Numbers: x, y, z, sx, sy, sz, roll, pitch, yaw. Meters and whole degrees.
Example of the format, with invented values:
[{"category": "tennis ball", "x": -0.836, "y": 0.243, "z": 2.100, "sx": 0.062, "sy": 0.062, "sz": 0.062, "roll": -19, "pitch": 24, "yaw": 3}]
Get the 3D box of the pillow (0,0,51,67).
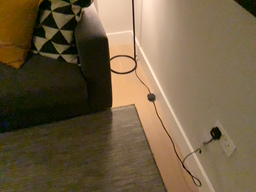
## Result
[{"category": "pillow", "x": -0.780, "y": -0.460, "z": 1.360, "sx": 0.550, "sy": 0.480, "sz": 0.210, "roll": 11, "pitch": 6, "yaw": 30}]
